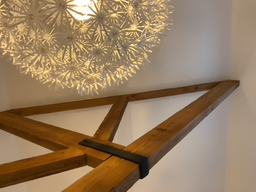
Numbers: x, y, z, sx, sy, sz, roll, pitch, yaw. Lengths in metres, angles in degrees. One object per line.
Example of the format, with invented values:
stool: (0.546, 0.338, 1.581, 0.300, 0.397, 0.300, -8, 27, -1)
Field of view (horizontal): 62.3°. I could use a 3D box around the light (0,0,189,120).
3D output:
light: (-0.690, -0.600, 1.330, 1.860, 1.000, 1.000, 4, 18, 29)
